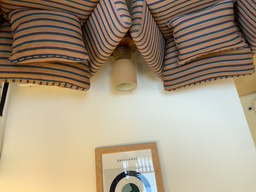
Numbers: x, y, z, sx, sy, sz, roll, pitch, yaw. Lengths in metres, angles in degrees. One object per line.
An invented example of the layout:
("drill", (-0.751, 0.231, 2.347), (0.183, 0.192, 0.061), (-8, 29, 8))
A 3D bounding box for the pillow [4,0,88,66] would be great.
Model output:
("pillow", (-0.490, -0.390, 1.340), (0.430, 0.290, 0.170), (7, 147, -16))

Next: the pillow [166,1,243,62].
("pillow", (0.520, -0.460, 1.510), (0.450, 0.330, 0.200), (-11, 128, 15))
